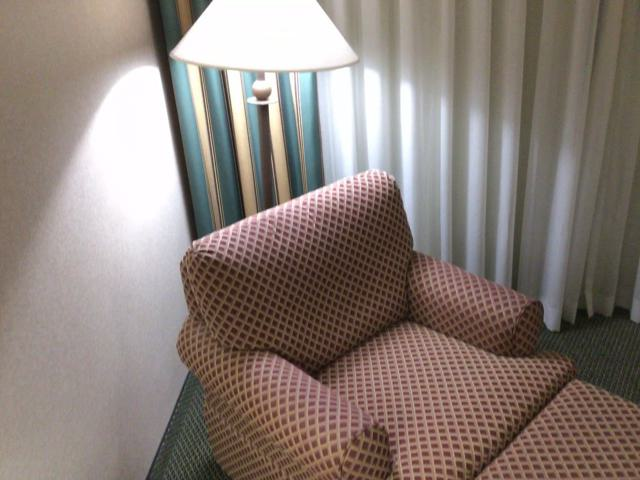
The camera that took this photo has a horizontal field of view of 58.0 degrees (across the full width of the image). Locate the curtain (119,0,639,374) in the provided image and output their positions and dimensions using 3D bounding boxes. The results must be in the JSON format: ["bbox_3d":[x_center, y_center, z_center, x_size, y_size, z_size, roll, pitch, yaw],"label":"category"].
[{"bbox_3d":[1.140,-0.720,1.840,3.450,2.340,0.350,-4,25,6],"label":"curtain"}]

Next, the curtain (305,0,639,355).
[{"bbox_3d":[1.210,-0.600,1.980,2.440,2.030,0.310,-4,25,6],"label":"curtain"}]
